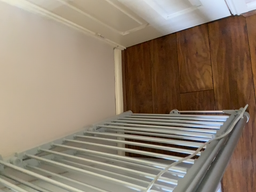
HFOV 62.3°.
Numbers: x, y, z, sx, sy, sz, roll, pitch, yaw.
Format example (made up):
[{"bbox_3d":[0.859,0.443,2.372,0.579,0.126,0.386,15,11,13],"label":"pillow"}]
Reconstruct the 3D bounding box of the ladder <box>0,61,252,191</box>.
[{"bbox_3d":[0.030,0.200,0.910,0.760,0.980,0.350,-6,81,34],"label":"ladder"}]
